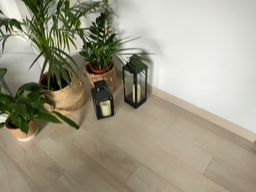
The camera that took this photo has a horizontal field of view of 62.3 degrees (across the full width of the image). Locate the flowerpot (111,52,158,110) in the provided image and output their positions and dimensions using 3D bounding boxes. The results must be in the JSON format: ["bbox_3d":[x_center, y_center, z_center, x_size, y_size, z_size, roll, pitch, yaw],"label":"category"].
[{"bbox_3d":[0.050,-0.120,1.690,0.290,0.320,0.200,29,52,30],"label":"flowerpot"}]

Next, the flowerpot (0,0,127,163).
[{"bbox_3d":[-0.520,-0.240,1.410,0.580,0.780,0.890,26,50,27],"label":"flowerpot"}]
